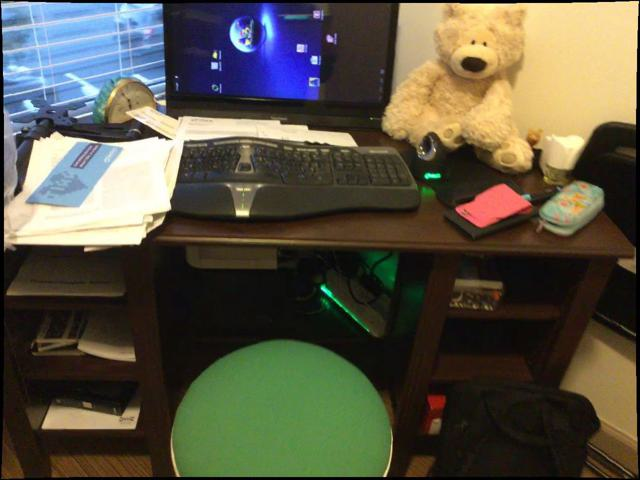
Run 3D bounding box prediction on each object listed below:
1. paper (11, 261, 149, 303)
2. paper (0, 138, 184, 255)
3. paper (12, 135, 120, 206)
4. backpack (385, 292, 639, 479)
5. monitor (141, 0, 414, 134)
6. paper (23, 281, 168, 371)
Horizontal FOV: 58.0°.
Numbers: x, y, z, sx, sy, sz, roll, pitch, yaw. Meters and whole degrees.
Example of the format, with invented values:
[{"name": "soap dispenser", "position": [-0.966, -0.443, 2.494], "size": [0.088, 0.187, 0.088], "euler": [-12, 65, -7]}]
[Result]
[{"name": "paper", "position": [-0.459, 0.080, 1.120], "size": [0.229, 0.010, 0.110], "euler": [0, 37, -5]}, {"name": "paper", "position": [-0.389, -0.090, 1.000], "size": [0.289, 0.010, 0.340], "euler": [-3, 38, -9]}, {"name": "paper", "position": [-0.449, -0.130, 1.040], "size": [0.100, 0.010, 0.220], "euler": [6, 37, 1]}, {"name": "backpack", "position": [0.409, 0.461, 1.200], "size": [0.380, 0.451, 0.390], "euler": [30, 44, 30]}, {"name": "monitor", "position": [-0.090, -0.451, 1.290], "size": [0.539, 0.330, 0.210], "euler": [3, 37, -2]}, {"name": "paper", "position": [-0.469, 0.180, 1.240], "size": [0.249, 0.090, 0.170], "euler": [-1, 37, -7]}]
